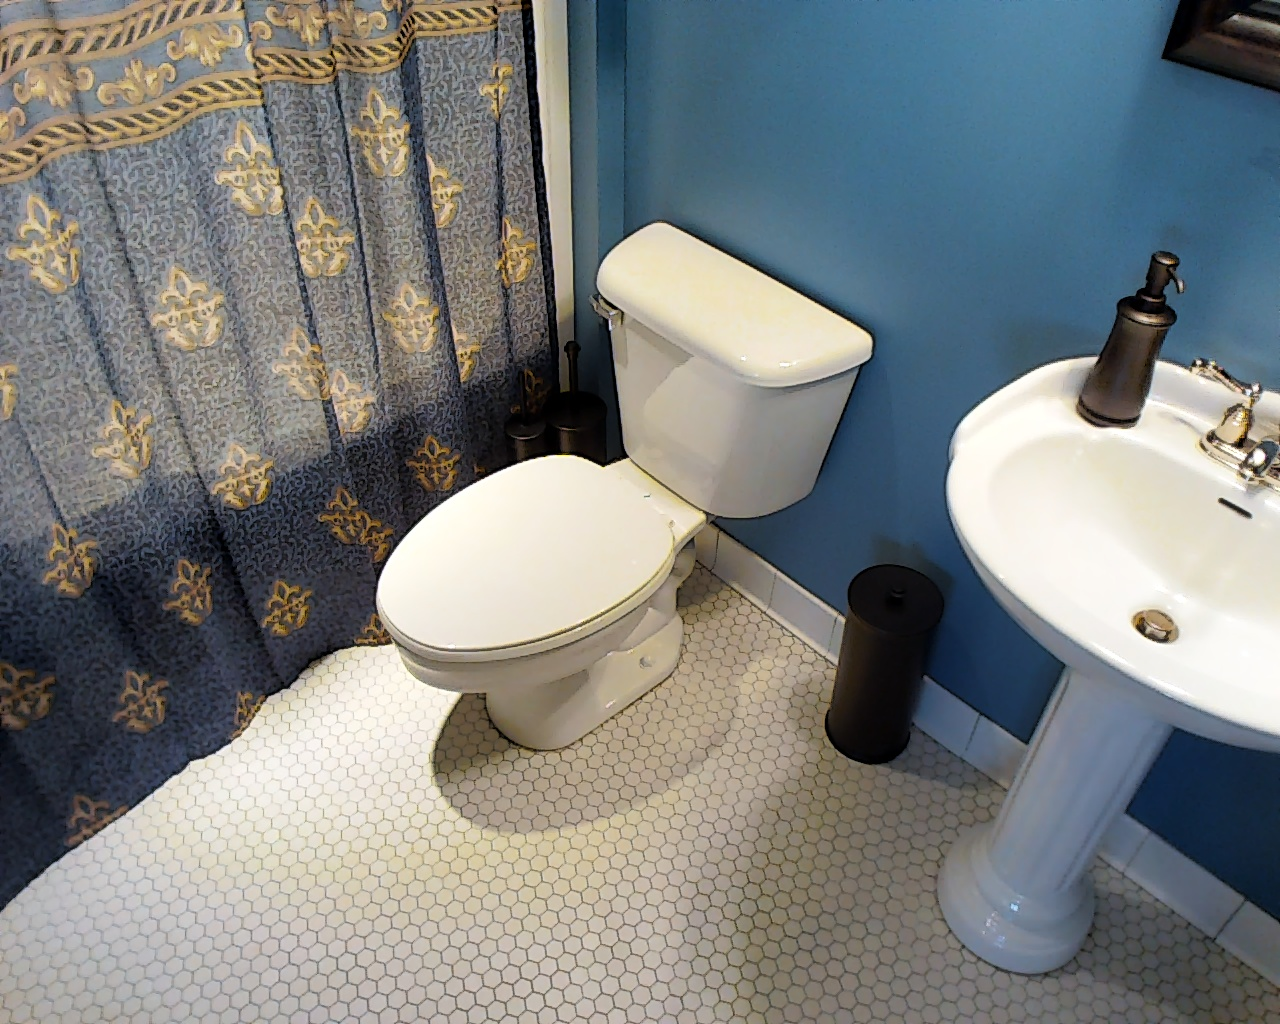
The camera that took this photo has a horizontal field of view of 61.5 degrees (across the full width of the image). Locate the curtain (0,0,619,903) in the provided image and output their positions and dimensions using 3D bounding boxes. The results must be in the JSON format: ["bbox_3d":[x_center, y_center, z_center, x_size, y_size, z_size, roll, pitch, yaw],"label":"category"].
[{"bbox_3d":[-0.610,-0.390,1.370,1.460,1.880,0.150,-33,52,-32],"label":"curtain"}]
